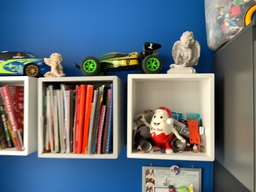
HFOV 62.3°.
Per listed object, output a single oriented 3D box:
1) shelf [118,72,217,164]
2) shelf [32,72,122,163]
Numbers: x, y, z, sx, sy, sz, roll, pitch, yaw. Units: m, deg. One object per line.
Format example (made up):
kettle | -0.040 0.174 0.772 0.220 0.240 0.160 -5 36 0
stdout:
shelf | 0.170 0.090 1.000 0.400 0.370 0.250 0 -2 6
shelf | -0.220 0.090 1.020 0.340 0.370 0.280 0 -2 8
